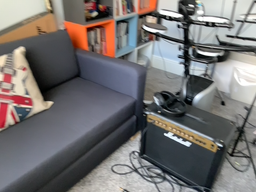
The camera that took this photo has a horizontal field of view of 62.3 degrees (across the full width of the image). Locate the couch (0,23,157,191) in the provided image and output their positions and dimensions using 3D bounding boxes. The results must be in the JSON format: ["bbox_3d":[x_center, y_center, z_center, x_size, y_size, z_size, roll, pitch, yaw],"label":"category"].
[{"bbox_3d":[-0.560,0.120,1.170,0.750,0.680,1.420,23,37,30],"label":"couch"}]

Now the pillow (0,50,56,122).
[{"bbox_3d":[-0.640,-0.060,1.120,0.180,0.330,0.420,24,17,30],"label":"pillow"}]
